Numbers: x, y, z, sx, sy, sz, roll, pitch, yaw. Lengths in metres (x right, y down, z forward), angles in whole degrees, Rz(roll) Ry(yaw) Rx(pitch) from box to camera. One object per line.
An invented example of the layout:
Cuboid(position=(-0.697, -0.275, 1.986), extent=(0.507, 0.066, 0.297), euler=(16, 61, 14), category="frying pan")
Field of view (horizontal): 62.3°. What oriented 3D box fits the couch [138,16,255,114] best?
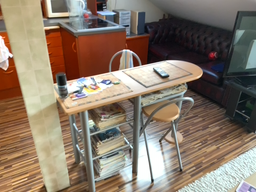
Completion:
Cuboid(position=(1.040, -0.650, 3.300), extent=(0.860, 0.800, 1.920), euler=(-14, 34, -26), category="couch")
